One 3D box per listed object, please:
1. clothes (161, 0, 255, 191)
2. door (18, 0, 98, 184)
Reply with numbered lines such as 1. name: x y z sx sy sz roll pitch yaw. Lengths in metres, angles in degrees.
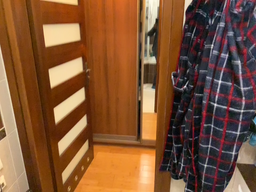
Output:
1. clothes: 0.420 -0.020 0.990 0.420 1.480 0.250 3 20 6
2. door: -0.520 -0.320 1.970 0.130 1.710 1.250 2 20 5
